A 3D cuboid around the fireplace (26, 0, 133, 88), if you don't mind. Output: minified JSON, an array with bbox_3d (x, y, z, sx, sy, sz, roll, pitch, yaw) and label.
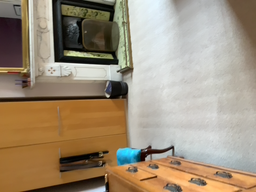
[{"bbox_3d":[-0.680,-0.990,2.900,0.620,1.230,1.670,-13,80,61],"label":"fireplace"}]
